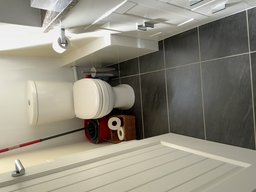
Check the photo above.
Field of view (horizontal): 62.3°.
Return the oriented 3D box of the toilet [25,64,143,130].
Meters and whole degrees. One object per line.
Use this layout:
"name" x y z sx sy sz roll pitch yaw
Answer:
"toilet" -0.390 0.010 1.850 0.670 0.770 0.420 -5 88 52
